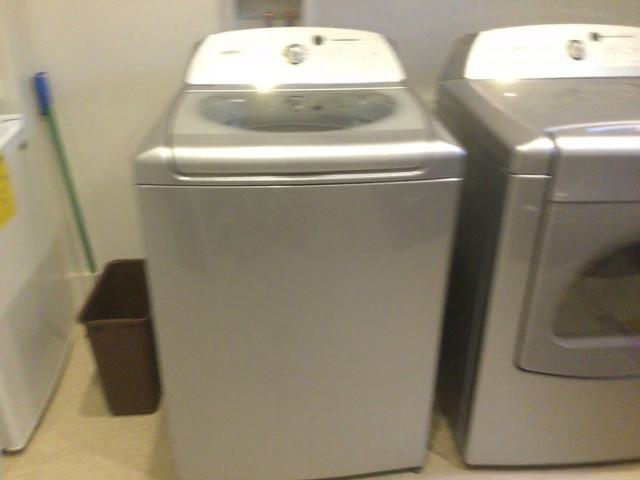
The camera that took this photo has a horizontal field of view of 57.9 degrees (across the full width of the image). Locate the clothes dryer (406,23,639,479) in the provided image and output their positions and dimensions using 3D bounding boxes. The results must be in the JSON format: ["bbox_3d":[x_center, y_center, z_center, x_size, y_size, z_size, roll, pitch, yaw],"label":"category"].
[{"bbox_3d":[0.730,0.000,1.630,0.750,1.070,0.740,-3,27,-5],"label":"clothes dryer"}]

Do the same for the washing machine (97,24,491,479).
[{"bbox_3d":[-0.070,0.020,1.590,0.710,1.080,0.690,-3,27,-5],"label":"washing machine"}]

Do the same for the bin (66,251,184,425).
[{"bbox_3d":[-0.580,0.290,1.800,0.230,0.370,0.380,-3,27,-5],"label":"bin"}]
